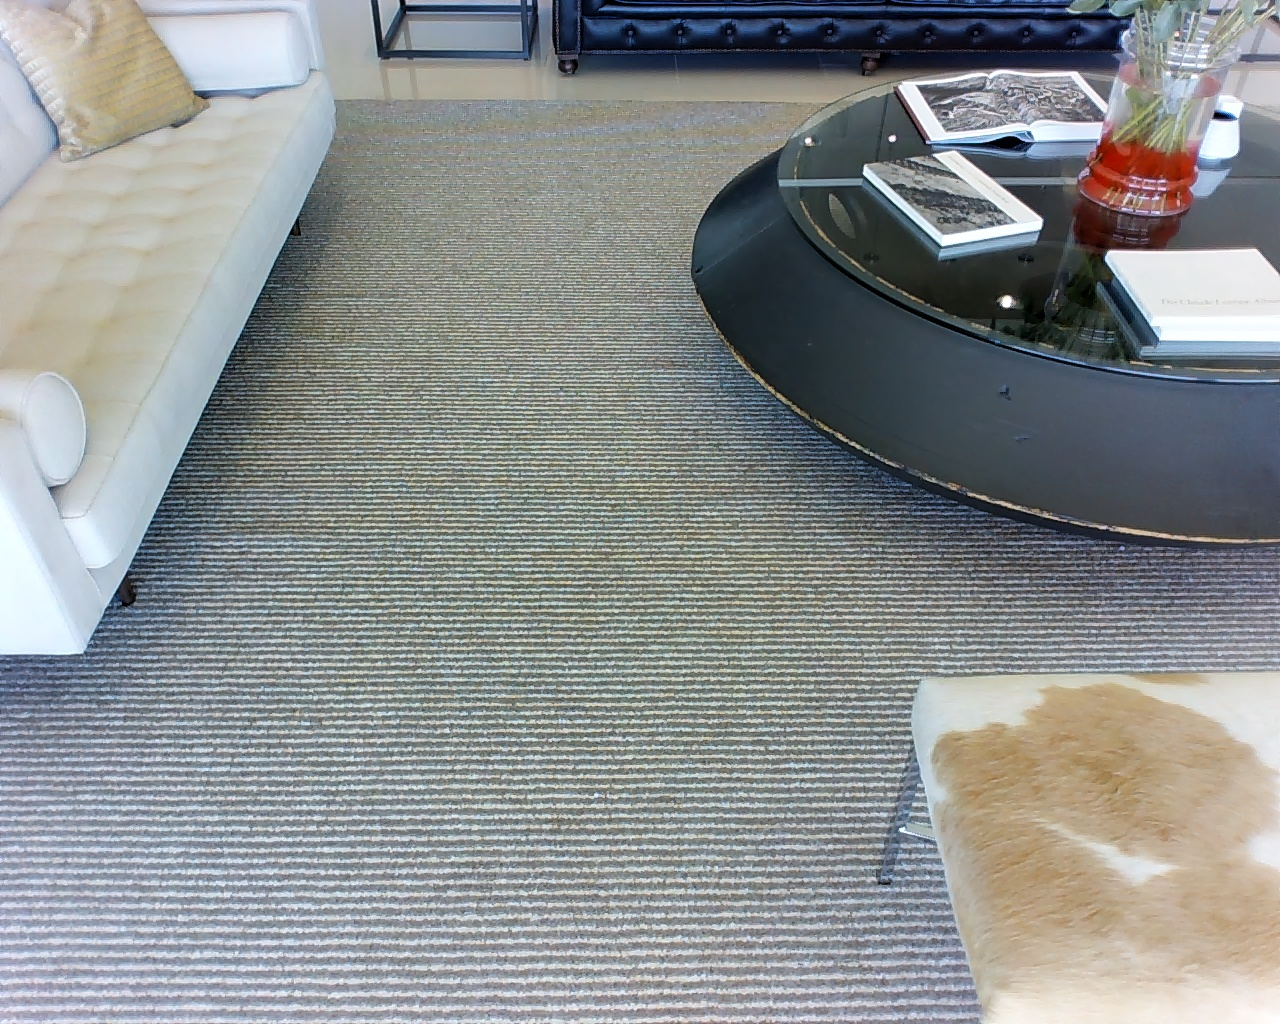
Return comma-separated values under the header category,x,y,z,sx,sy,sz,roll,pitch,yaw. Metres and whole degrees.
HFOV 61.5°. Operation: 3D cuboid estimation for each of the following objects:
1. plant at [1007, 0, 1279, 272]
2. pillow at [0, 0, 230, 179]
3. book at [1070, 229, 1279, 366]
category,x,y,z,sx,sy,sz,roll,pitch,yaw
plant,1.200,-0.980,2.270,0.540,0.760,0.530,0,42,0
pillow,-1.400,-1.150,2.810,0.280,0.430,0.440,45,36,10
book,1.110,-0.420,2.070,0.430,0.070,0.390,0,42,0
